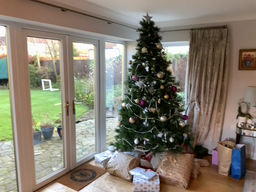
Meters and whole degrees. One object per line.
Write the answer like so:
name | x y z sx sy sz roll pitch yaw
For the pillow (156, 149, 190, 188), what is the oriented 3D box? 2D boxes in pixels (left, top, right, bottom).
pillow | 0.630 0.990 2.940 0.410 0.320 0.360 4 10 21

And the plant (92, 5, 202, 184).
plant | 0.370 -0.080 3.490 1.330 2.240 1.310 5 10 27

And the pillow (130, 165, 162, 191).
pillow | 0.230 1.080 2.810 0.390 0.180 0.350 0 9 2
